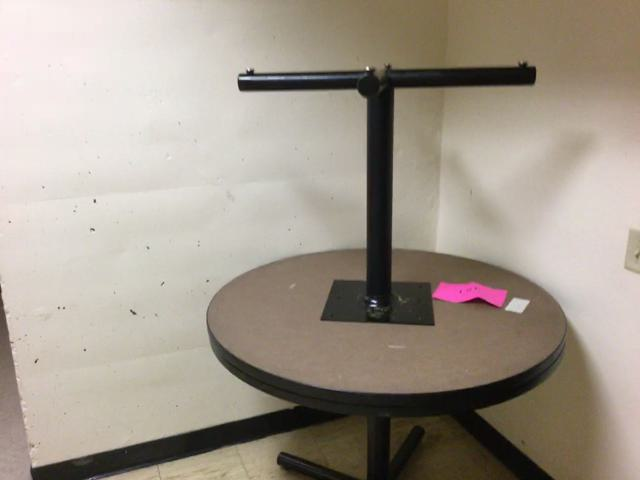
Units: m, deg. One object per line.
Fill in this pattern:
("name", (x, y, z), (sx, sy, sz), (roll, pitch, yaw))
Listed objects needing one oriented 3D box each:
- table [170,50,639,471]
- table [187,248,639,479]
("table", (0.250, -0.100, 1.740), (1.160, 0.800, 1.040), (-6, 16, -23))
("table", (0.220, 0.570, 1.810), (1.050, 0.800, 0.890), (-6, 16, -23))
